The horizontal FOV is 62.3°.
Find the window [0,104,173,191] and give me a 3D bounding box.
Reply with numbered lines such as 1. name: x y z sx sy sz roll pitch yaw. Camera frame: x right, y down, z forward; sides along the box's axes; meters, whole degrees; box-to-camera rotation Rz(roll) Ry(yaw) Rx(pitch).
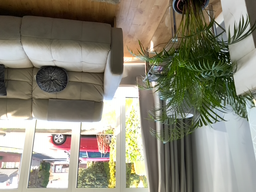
1. window: -1.360 0.850 2.890 3.940 1.390 0.450 3 162 -12
